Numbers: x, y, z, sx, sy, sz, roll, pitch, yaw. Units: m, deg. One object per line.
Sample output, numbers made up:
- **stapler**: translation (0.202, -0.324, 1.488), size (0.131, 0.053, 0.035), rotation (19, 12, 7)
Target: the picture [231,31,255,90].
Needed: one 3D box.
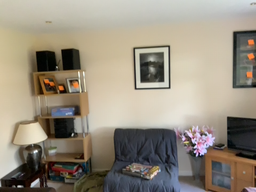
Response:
- **picture**: translation (1.780, -0.520, 3.140), size (0.450, 0.840, 0.060), rotation (-2, 6, 7)

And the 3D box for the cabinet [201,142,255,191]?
- **cabinet**: translation (1.390, 1.010, 2.900), size (0.600, 0.540, 0.450), rotation (3, 9, 42)
